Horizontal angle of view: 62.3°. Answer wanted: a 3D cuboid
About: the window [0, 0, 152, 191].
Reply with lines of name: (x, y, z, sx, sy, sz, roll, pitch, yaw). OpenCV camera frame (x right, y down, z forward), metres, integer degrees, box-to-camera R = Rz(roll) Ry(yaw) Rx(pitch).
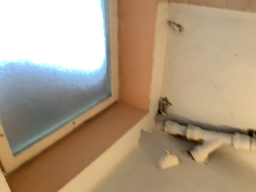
window: (-0.270, -0.260, 0.910, 0.260, 1.320, 0.930, 23, -142, 31)
